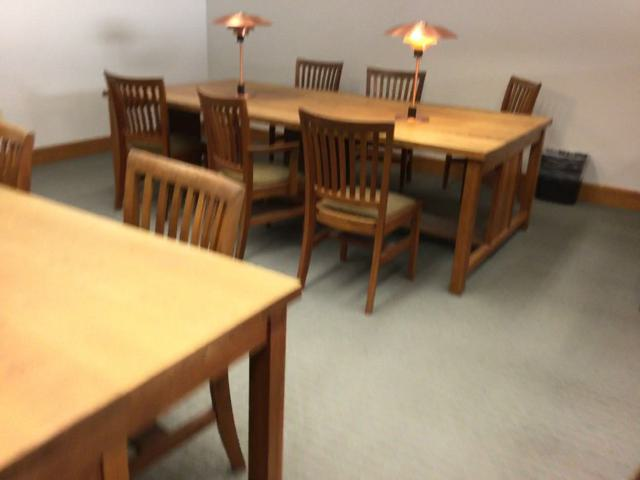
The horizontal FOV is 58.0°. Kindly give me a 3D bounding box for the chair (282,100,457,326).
[{"bbox_3d":[0.240,-0.180,2.880,0.560,0.910,0.620,16,23,29],"label":"chair"}]

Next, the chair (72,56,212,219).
[{"bbox_3d":[-1.170,-0.720,3.880,0.710,0.930,0.520,16,23,29],"label":"chair"}]

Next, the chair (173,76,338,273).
[{"bbox_3d":[-0.390,-0.420,3.310,0.630,0.930,0.680,-12,26,-37],"label":"chair"}]
